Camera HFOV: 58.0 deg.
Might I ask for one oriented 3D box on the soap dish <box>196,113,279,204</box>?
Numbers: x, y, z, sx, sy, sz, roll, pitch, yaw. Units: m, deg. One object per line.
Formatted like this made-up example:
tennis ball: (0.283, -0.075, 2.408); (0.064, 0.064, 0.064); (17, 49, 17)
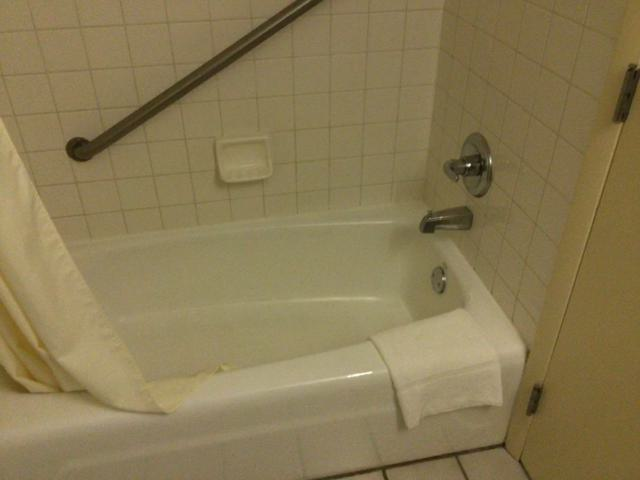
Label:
soap dish: (-0.240, -0.240, 1.710); (0.220, 0.230, 0.090); (-8, 38, -11)

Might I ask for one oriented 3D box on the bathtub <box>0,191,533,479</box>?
bathtub: (-0.210, 0.270, 1.650); (1.300, 0.360, 0.730); (-7, 37, -10)

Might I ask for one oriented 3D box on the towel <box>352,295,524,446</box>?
towel: (0.280, 0.320, 1.460); (0.330, 0.200, 0.250); (-8, 38, -11)
